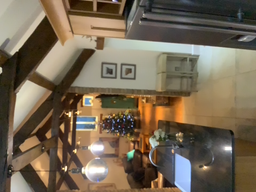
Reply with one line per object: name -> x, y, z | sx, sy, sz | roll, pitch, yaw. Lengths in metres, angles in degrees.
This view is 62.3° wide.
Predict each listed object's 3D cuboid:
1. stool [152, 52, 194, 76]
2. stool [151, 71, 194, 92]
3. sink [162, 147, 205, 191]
stool -> 0.890, -0.630, 4.220 | 0.340, 0.740, 0.360 | 166, 106, -80
stool -> 0.870, -0.280, 4.200 | 0.350, 0.740, 0.340 | 166, 106, -80
sink -> 0.690, 0.950, 2.740 | 0.650, 0.280, 0.460 | 155, 117, -79
